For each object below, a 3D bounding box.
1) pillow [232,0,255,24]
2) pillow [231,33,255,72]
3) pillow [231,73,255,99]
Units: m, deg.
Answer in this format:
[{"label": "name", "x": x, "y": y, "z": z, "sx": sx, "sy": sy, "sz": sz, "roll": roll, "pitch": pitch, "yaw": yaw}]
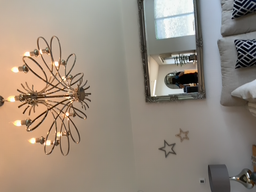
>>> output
[{"label": "pillow", "x": 1.520, "y": -1.180, "z": 2.680, "sx": 0.190, "sy": 0.350, "sz": 0.450, "roll": -30, "pitch": -66, "yaw": -63}, {"label": "pillow", "x": 1.540, "y": -0.550, "z": 2.720, "sx": 0.140, "sy": 0.370, "sz": 0.450, "roll": -6, "pitch": -87, "yaw": -58}, {"label": "pillow", "x": 1.570, "y": -0.120, "z": 2.600, "sx": 0.690, "sy": 0.390, "sz": 0.280, "roll": -3, "pitch": -92, "yaw": -78}]
